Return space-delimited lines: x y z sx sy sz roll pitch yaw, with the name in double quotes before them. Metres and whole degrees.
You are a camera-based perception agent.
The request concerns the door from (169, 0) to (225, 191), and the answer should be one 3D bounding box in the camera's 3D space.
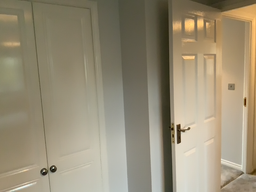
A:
"door" 0.650 0.210 1.900 0.840 1.970 0.050 -9 11 -43
